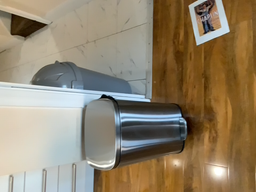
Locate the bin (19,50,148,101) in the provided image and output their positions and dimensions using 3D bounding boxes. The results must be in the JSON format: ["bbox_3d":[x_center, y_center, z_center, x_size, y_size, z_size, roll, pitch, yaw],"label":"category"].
[{"bbox_3d":[-0.280,-0.130,1.550,0.410,0.810,0.200,19,99,42],"label":"bin"}]

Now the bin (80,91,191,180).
[{"bbox_3d":[0.080,0.190,1.230,0.290,0.640,0.370,-4,84,42],"label":"bin"}]
